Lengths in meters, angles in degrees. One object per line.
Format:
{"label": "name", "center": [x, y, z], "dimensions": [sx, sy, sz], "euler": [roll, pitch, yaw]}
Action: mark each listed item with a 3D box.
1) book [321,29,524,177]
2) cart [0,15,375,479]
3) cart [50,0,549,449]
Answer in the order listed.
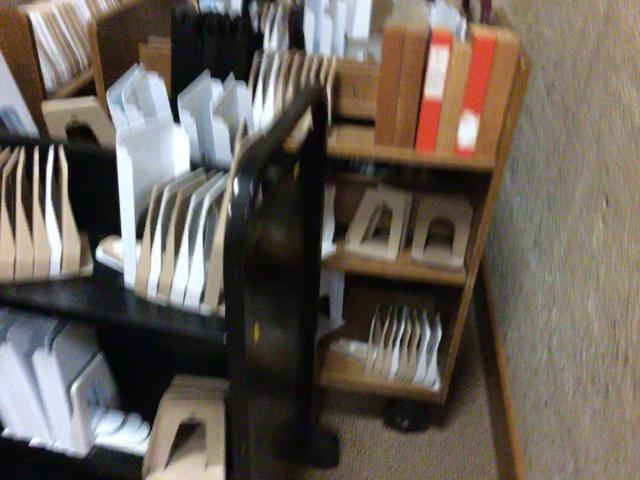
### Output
{"label": "book", "center": [0.180, -0.260, 1.100], "dimensions": [0.340, 0.230, 0.110], "euler": [5, 34, 5]}
{"label": "cart", "center": [-0.440, 0.190, 1.190], "dimensions": [1.000, 1.080, 0.660], "euler": [5, 34, 5]}
{"label": "cart", "center": [-0.030, -0.070, 1.520], "dimensions": [0.870, 1.110, 0.520], "euler": [5, 34, 5]}
